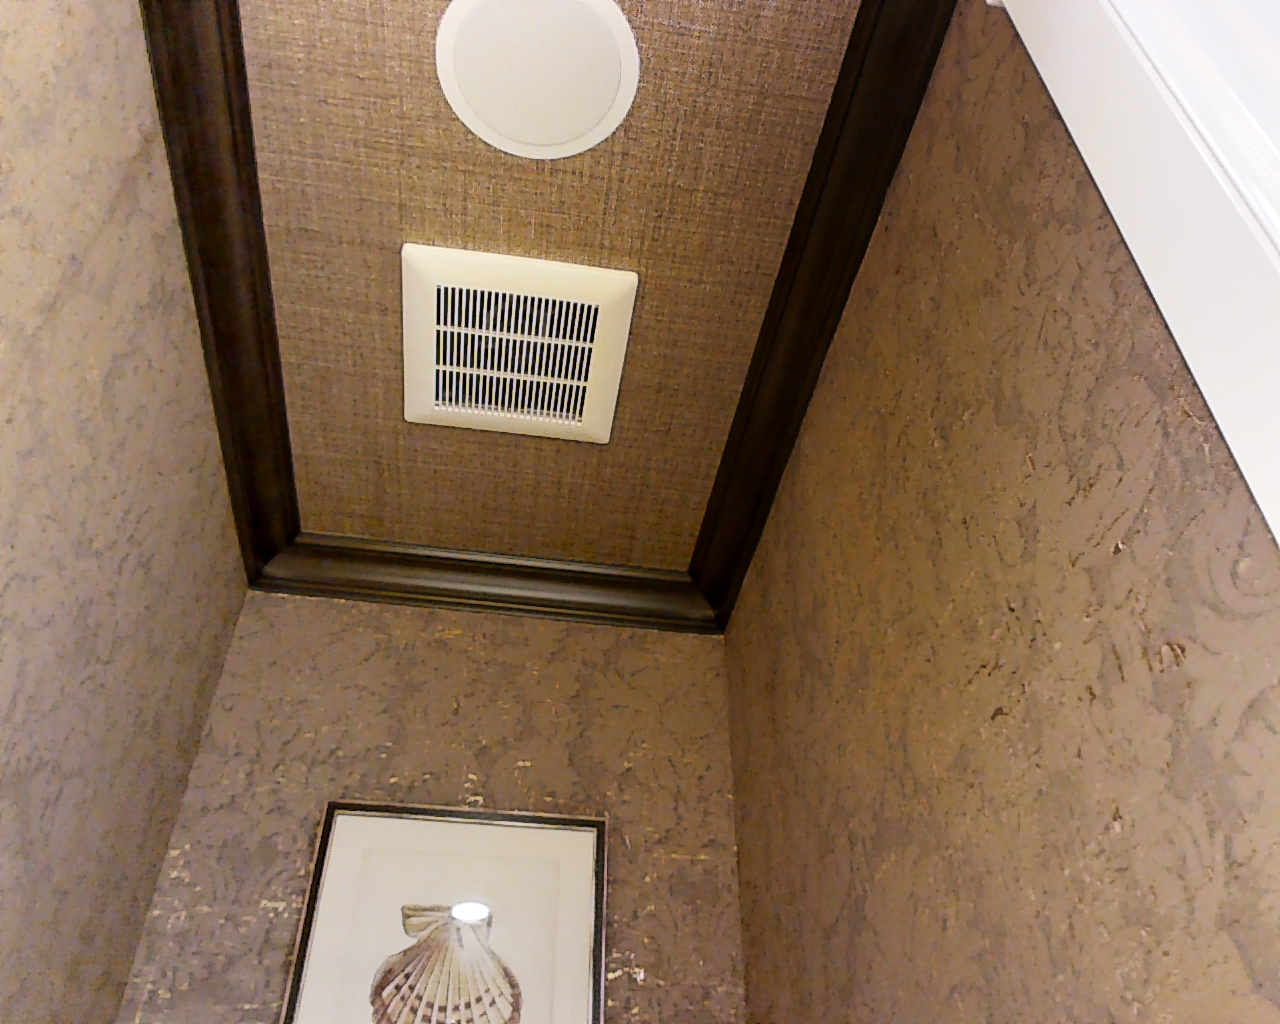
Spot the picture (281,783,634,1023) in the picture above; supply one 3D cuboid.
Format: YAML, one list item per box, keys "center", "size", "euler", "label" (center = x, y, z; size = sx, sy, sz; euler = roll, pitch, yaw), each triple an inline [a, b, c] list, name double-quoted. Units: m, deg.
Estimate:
- center: [-0.250, 0.680, 1.520]
  size: [0.470, 0.580, 0.050]
  euler: [7, -43, -6]
  label: "picture"

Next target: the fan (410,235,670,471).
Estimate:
- center: [-0.160, -0.220, 1.590]
  size: [0.350, 0.040, 0.360]
  euler: [7, -43, -6]
  label: "fan"
